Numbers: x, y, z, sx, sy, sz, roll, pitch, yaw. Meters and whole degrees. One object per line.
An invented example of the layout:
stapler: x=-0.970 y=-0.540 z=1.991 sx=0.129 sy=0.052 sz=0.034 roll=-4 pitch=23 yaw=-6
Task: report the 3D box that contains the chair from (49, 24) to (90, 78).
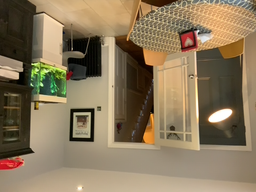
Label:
chair: x=-1.050 y=-0.790 z=3.860 sx=0.550 sy=0.810 sz=0.450 roll=-2 pitch=174 yaw=21
